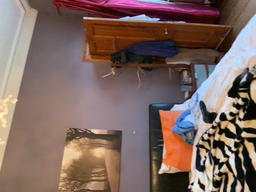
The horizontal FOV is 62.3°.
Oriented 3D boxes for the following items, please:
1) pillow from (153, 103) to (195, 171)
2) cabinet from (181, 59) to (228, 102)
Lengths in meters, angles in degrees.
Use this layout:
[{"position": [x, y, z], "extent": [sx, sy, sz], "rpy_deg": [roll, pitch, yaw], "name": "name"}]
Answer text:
[{"position": [0.550, 0.470, 2.500], "extent": [0.150, 0.300, 0.720], "rpy_deg": [94, -166, -69], "name": "pillow"}, {"position": [1.110, -0.220, 3.160], "extent": [0.430, 0.480, 0.490], "rpy_deg": [96, 176, -67], "name": "cabinet"}]
